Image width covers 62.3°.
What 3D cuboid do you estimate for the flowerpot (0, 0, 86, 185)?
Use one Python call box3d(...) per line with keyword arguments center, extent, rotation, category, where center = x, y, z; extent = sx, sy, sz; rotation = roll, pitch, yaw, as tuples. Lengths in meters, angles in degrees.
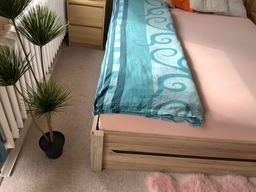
box3d(center=(-0.450, -0.030, 1.100), extent=(0.330, 1.140, 0.410), rotation=(9, 41, 1), category="flowerpot")
